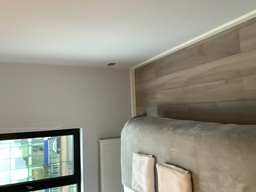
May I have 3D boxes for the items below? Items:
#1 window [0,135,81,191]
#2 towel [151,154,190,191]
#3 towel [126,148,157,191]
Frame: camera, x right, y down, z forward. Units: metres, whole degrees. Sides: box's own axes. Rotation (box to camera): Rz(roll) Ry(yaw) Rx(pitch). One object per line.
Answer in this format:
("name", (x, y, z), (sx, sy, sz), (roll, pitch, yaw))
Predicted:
("window", (-1.480, 1.330, 2.860), (0.120, 1.660, 1.460), (174, 95, -65))
("towel", (0.310, 0.700, 1.600), (0.370, 0.080, 0.430), (173, 96, -65))
("towel", (0.120, 0.730, 2.020), (0.380, 0.110, 0.400), (169, 100, -65))
